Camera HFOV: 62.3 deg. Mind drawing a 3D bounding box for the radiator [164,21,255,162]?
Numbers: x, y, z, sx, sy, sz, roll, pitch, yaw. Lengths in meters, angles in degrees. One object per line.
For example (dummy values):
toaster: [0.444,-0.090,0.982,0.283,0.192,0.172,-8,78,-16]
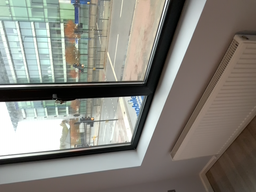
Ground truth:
radiator: [0.720,0.100,1.570,1.310,0.550,0.090,104,158,-44]
